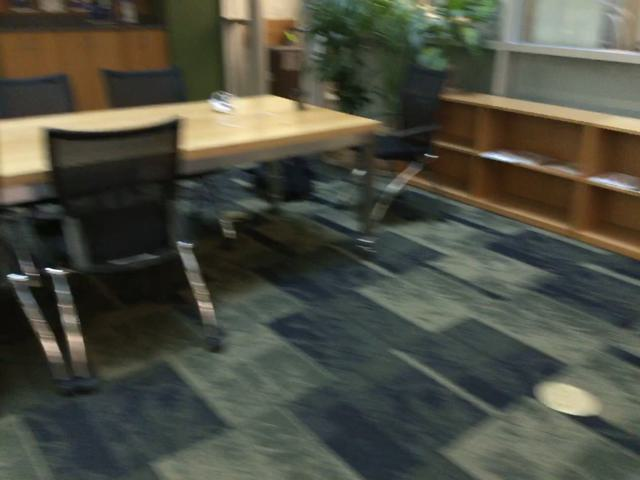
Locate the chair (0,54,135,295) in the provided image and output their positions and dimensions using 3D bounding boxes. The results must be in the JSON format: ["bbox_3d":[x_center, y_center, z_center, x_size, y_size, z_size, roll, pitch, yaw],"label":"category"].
[{"bbox_3d":[-1.340,-0.370,2.790,0.580,0.930,0.760,-12,27,-35],"label":"chair"}]

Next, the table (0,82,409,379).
[{"bbox_3d":[-0.940,-0.210,2.720,2.500,0.840,1.190,-12,27,-35],"label":"table"}]

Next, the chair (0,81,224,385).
[{"bbox_3d":[-0.810,-0.100,2.240,0.550,0.890,0.780,-12,27,-36],"label":"chair"}]

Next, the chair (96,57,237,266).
[{"bbox_3d":[-0.830,-0.460,3.130,0.470,0.950,0.670,-12,27,-35],"label":"chair"}]
